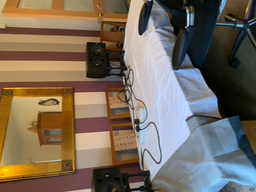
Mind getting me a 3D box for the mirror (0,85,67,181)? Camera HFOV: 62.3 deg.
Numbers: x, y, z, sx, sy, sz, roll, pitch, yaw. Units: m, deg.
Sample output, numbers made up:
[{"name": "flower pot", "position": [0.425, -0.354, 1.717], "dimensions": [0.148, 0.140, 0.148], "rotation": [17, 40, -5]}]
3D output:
[{"name": "mirror", "position": [-0.930, 0.290, 2.070], "dimensions": [0.140, 0.640, 0.990], "rotation": [103, 160, -44]}]
